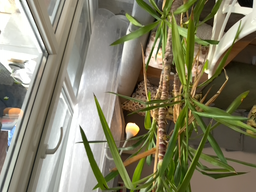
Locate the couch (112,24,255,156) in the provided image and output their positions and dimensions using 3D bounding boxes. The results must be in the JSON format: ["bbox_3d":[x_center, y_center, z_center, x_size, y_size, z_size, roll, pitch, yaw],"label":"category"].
[{"bbox_3d":[1.070,0.060,2.330,2.370,0.910,0.940,7,157,-2],"label":"couch"}]
